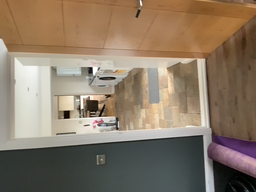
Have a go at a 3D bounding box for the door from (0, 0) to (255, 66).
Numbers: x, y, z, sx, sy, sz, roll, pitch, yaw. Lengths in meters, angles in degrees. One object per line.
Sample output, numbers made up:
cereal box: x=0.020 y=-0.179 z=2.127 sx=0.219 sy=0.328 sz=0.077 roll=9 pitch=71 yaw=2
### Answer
door: x=-0.060 y=-0.520 z=1.900 sx=1.020 sy=2.090 sz=0.130 roll=148 pitch=120 yaw=-71
